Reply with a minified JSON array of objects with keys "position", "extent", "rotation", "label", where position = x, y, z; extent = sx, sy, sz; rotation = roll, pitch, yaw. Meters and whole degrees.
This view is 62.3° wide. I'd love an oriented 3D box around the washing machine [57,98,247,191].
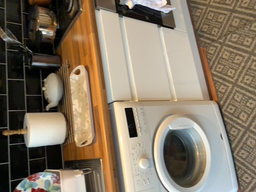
[{"position":[0.130,0.390,1.360],"extent":[0.660,0.910,0.590],"rotation":[-26,69,51],"label":"washing machine"}]
